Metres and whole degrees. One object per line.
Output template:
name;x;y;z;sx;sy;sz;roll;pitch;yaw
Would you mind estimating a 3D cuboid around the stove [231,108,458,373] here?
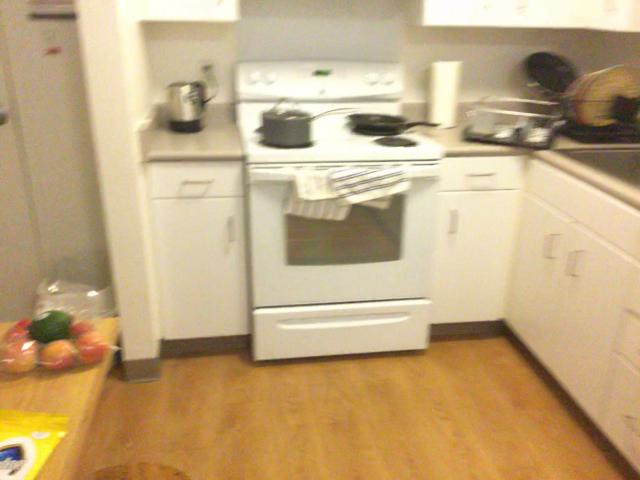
stove;0.050;-0.040;2.530;0.820;0.950;0.660;-3;21;-8
